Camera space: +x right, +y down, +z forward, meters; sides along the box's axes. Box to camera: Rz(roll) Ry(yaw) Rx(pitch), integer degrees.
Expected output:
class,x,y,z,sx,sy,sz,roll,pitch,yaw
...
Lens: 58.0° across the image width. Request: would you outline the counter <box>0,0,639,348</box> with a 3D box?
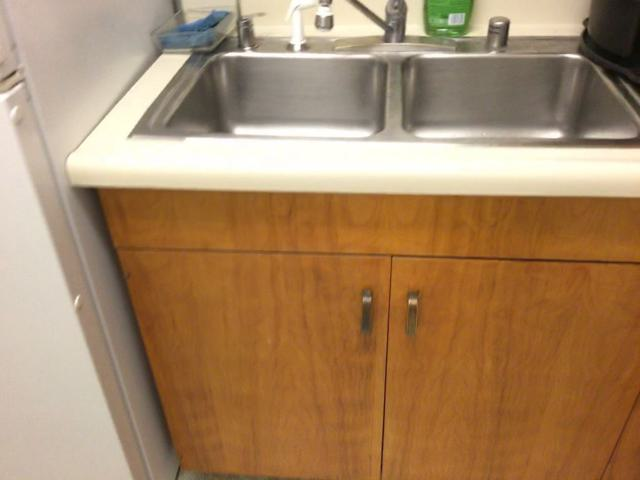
class,x,y,z,sx,sy,sz,roll,pitch,yaw
counter,0.540,-0.280,0.910,1.840,0.280,0.960,2,37,4
